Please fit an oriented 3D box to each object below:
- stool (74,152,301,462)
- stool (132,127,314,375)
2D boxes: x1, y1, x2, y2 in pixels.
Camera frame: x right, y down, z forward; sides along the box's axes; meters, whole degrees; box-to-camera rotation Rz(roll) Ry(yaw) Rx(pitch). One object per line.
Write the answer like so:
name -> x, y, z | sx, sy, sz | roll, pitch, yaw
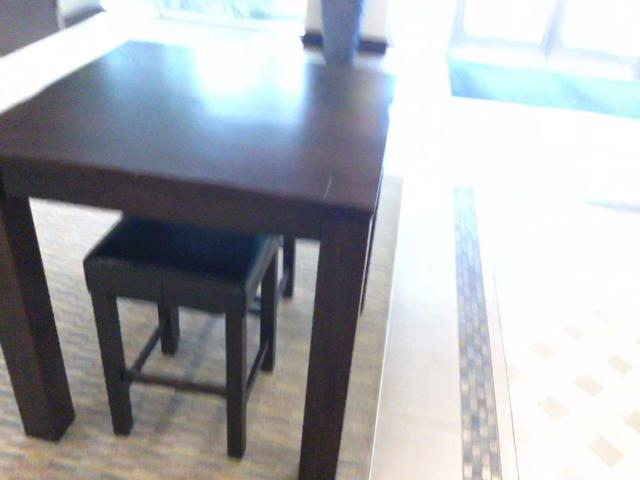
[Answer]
stool -> -0.340, 0.180, 1.740 | 0.430, 0.650, 0.580 | 8, 33, 5
stool -> -0.300, 0.030, 1.980 | 0.450, 0.650, 0.450 | 8, 33, 5
